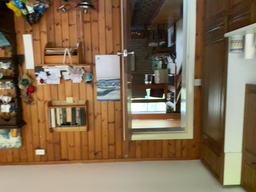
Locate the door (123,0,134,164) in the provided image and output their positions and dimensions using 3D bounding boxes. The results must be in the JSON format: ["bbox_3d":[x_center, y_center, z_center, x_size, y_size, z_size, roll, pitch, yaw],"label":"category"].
[{"bbox_3d":[0.010,-0.460,2.180,0.060,2.070,0.770,-1,-173,2],"label":"door"}]
